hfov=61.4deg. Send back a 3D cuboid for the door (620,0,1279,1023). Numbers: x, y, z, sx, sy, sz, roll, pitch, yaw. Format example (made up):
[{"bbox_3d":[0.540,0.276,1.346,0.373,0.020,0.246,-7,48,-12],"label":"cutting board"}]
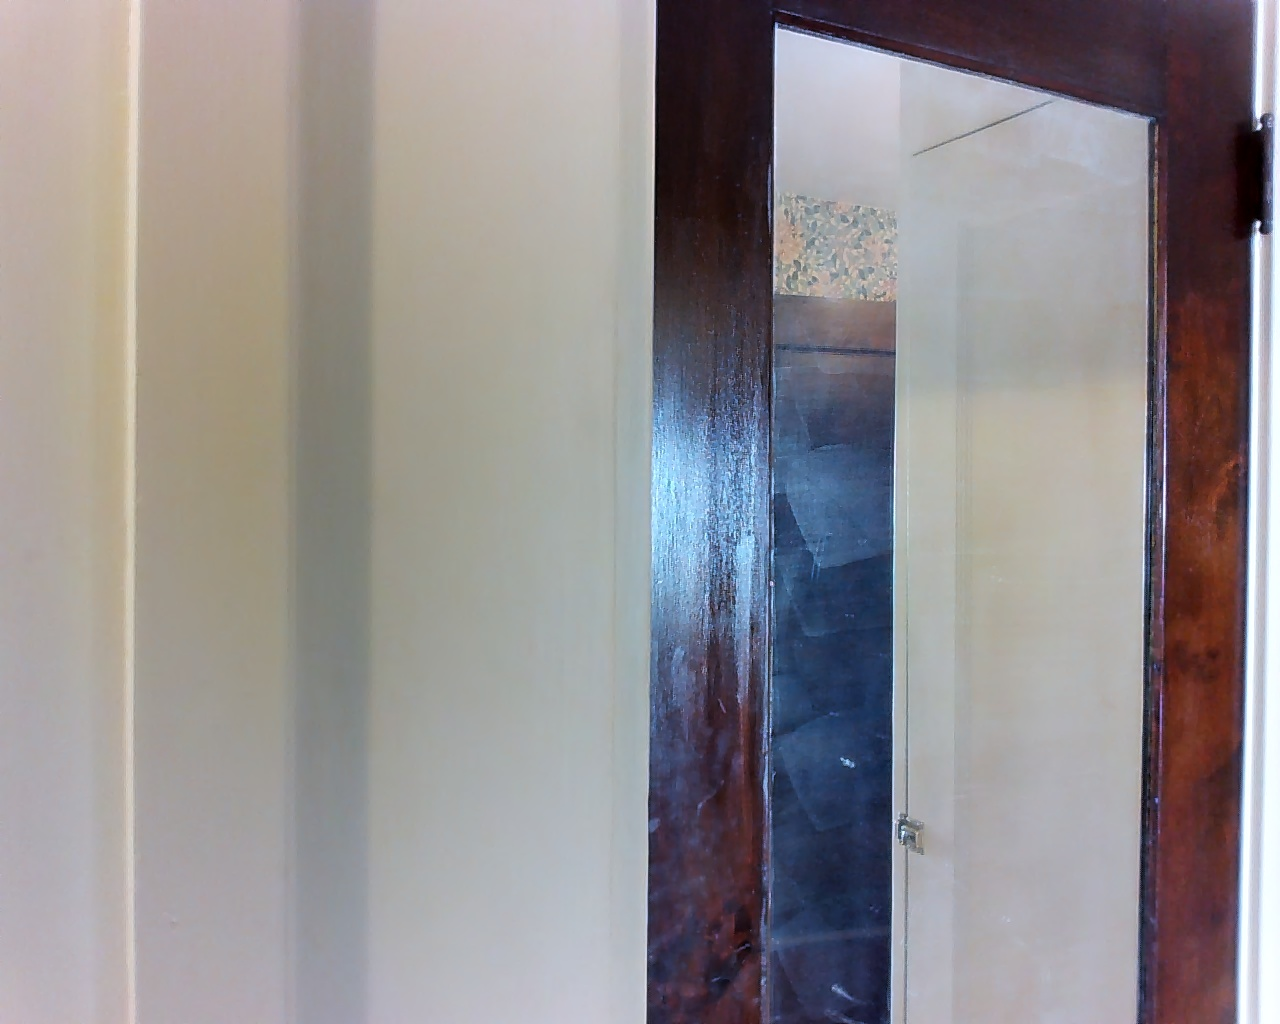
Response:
[{"bbox_3d":[0.360,0.510,1.040,0.790,2.080,0.110,1,1,-26],"label":"door"}]
